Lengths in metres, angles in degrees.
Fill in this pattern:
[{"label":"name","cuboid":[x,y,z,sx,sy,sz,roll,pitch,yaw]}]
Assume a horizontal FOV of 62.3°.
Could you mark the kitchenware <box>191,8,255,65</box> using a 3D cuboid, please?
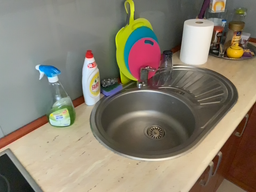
[{"label":"kitchenware","cuboid":[0.690,-0.420,1.430,0.310,0.220,0.370,-30,44,-35]}]
